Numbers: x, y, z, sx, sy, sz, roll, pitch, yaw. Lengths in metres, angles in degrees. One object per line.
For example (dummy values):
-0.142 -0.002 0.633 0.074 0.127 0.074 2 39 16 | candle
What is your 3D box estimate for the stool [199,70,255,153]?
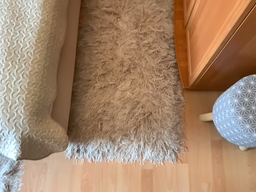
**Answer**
0.570 0.100 1.030 0.320 0.370 0.310 3 72 1 | stool
